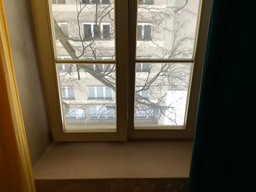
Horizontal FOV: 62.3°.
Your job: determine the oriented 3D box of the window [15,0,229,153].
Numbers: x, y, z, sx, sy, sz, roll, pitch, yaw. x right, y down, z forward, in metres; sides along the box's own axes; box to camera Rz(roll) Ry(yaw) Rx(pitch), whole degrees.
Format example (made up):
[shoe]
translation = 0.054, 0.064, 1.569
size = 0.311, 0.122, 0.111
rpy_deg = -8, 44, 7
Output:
[window]
translation = -0.020, -0.460, 1.280
size = 1.190, 1.790, 0.140
rpy_deg = -1, -158, -4
